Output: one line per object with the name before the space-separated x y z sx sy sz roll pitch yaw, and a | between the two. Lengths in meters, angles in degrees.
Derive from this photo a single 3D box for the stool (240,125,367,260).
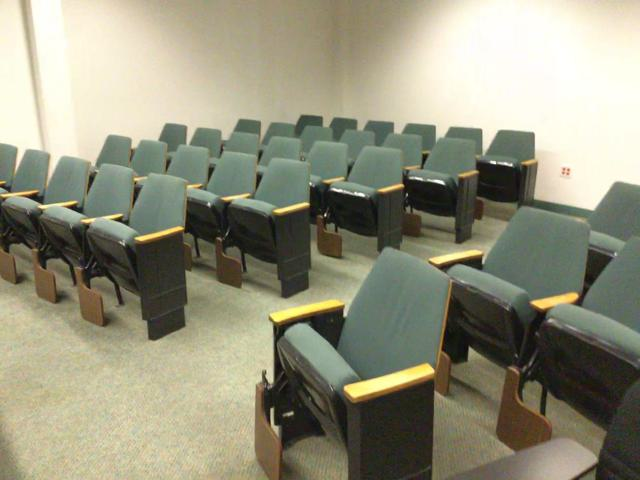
stool | -0.100 -0.390 4.280 0.670 0.870 0.640 7 17 31

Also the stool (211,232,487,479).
stool | 0.070 0.380 1.920 0.580 0.620 0.700 -11 17 -31

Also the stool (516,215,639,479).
stool | 1.090 0.420 1.990 0.600 0.880 0.470 -10 16 -30

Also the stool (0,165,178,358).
stool | -1.180 0.070 3.000 0.640 0.840 0.470 7 17 30
